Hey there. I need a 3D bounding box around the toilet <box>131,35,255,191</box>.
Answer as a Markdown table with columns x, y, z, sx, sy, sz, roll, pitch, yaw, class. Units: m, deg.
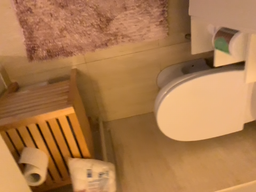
| x | y | z | sx | sy | sz | roll | pitch | yaw | class |
| --- | --- | --- | --- | --- | --- | --- | --- | --- | --- |
| 0.440 | 0.030 | 1.050 | 0.640 | 0.790 | 0.380 | -13 | 119 | -6 | toilet |
